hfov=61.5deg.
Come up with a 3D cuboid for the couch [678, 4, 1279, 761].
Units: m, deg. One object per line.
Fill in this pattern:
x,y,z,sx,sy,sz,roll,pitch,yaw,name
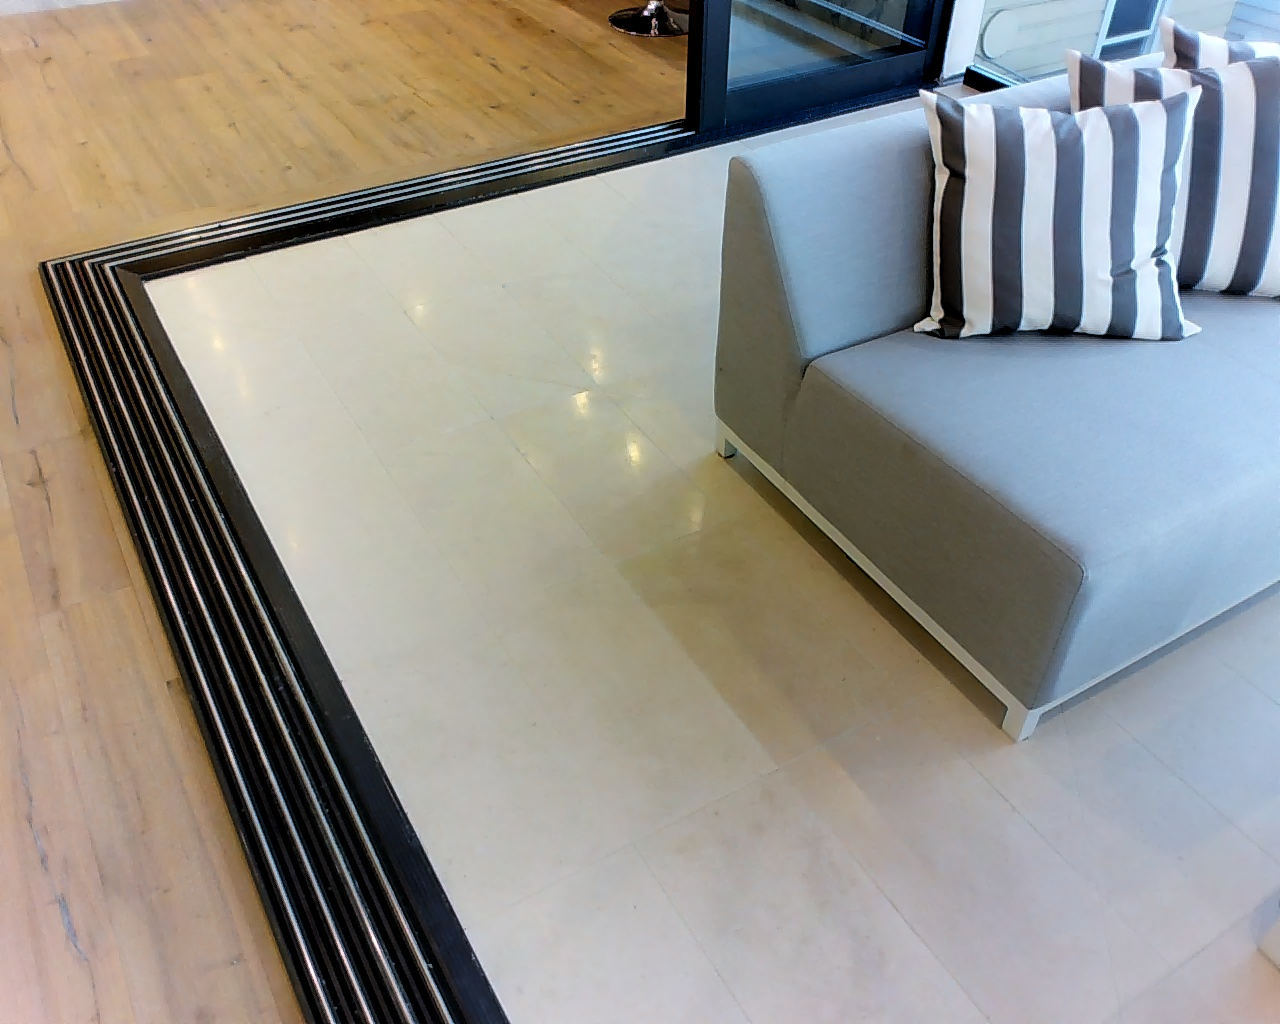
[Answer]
1.130,-0.450,2.390,1.710,0.750,1.170,-21,46,-23,couch
